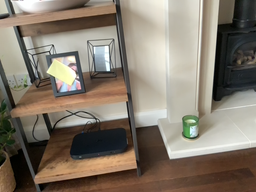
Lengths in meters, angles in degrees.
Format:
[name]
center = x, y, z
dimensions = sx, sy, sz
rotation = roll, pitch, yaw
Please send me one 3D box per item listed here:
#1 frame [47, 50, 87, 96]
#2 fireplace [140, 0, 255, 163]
[frame]
center = -0.300, -0.120, 1.080
dimensions = 0.130, 0.170, 0.160
rotation = -6, 27, 1
[fireplace]
center = 0.870, -0.480, 1.380
dimensions = 1.450, 1.300, 0.910
rotation = -8, 27, -1
